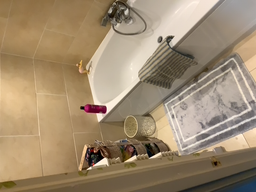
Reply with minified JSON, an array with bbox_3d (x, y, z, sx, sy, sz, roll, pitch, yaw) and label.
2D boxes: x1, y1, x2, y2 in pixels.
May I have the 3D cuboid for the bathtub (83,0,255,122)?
[{"bbox_3d":[0.250,-0.470,2.000,1.650,0.570,0.740,-45,53,39],"label":"bathtub"}]

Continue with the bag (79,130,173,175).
[{"bbox_3d":[0.000,0.510,1.990,0.310,0.820,0.240,-43,54,41],"label":"bag"}]
